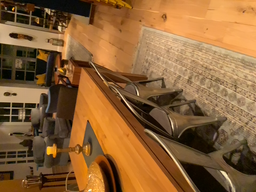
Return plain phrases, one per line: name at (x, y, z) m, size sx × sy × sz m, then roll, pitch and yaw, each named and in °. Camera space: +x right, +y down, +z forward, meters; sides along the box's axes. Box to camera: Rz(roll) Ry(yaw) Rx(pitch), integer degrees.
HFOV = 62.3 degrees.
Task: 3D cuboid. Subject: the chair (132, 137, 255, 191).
chair at (0.450, 0.540, 1.180) m, size 0.400 × 0.730 × 0.450 m, roll 40°, pitch 122°, yaw 57°
